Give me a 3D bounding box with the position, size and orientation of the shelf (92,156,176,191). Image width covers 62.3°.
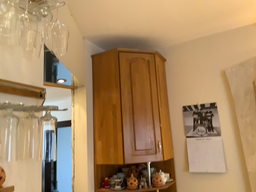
[{"bbox_3d":[0.080,0.880,1.850,0.530,0.630,0.550,-9,-12,27],"label":"shelf"}]
